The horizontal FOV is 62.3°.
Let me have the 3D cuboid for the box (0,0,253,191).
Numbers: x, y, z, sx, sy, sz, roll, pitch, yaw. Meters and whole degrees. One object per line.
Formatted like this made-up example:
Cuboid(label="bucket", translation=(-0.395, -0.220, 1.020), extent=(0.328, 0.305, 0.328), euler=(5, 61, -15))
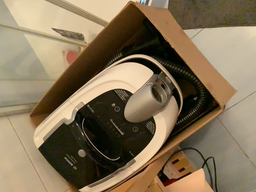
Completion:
Cuboid(label="box", translation=(-0.010, 0.020, 0.880), extent=(0.690, 0.560, 0.510), euler=(-39, 78, 22))
